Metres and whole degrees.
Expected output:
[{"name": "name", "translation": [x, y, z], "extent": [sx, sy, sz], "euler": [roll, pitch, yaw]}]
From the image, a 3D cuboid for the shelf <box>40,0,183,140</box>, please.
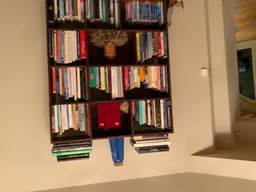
[{"name": "shelf", "translation": [-0.170, -0.530, 2.270], "extent": [1.360, 1.810, 0.340], "euler": [-3, 179, -12]}]
